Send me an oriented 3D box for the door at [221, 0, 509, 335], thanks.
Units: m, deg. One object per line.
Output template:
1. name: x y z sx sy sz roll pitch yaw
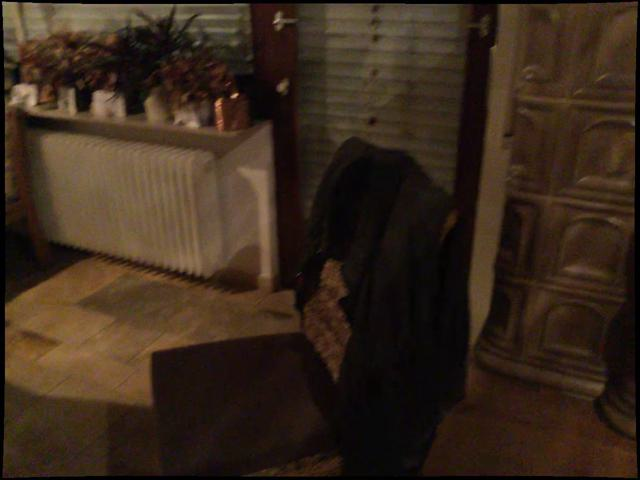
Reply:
1. door: 0.150 -0.651 2.280 1.049 1.992 0.270 11 28 24
